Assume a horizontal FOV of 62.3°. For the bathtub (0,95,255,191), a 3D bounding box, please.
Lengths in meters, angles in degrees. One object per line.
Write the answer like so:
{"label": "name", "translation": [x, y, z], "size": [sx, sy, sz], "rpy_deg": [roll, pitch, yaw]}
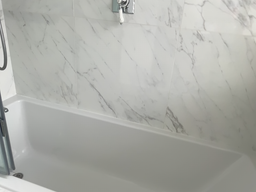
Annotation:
{"label": "bathtub", "translation": [-0.190, 0.540, 1.170], "size": [1.580, 0.570, 0.720], "rpy_deg": [12, 26, 15]}
